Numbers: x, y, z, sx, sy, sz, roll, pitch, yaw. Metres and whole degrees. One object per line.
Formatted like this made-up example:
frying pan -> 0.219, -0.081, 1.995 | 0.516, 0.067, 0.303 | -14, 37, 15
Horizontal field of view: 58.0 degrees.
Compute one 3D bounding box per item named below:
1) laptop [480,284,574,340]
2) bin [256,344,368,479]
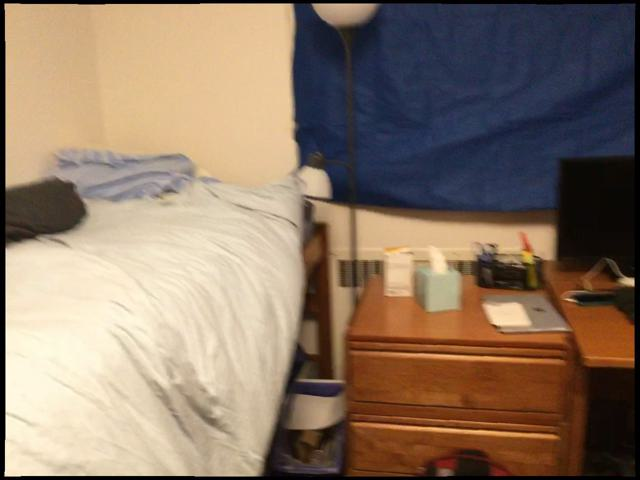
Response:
laptop -> 0.669, 0.230, 1.910 | 0.240, 0.030, 0.370 | 1, 16, 10
bin -> 0.000, 0.731, 2.290 | 0.319, 0.361, 0.640 | 1, 16, 10
